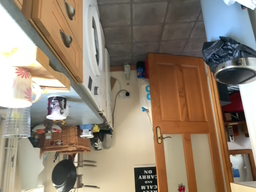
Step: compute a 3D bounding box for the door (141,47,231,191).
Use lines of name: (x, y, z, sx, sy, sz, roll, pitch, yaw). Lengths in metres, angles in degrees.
door: (0.630, 0.420, 2.340, 0.820, 2.030, 0.110, 1, 163, -14)
